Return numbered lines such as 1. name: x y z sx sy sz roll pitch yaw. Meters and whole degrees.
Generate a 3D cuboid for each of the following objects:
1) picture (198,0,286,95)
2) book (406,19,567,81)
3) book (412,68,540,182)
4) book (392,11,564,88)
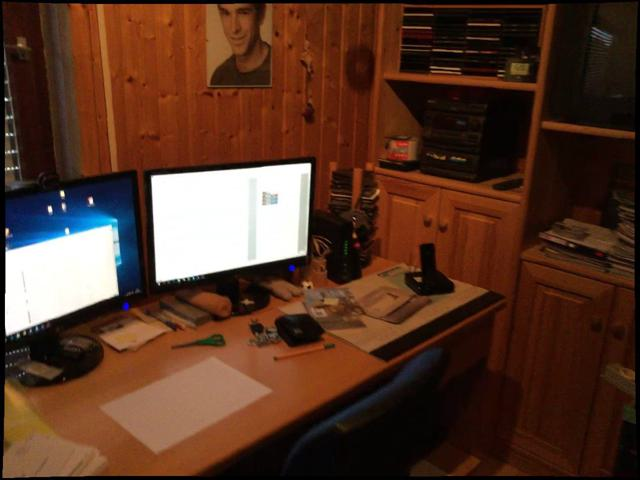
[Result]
1. picture: -0.270 -0.771 2.020 0.050 0.460 0.320 21 34 40
2. book: 0.619 -0.731 2.190 0.490 0.180 0.290 20 30 38
3. book: 0.629 -0.480 2.330 0.290 0.350 0.440 20 30 38
4. book: 0.599 -0.751 2.230 0.500 0.230 0.380 20 30 38
